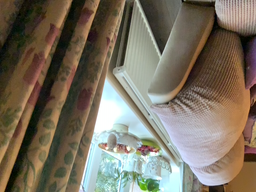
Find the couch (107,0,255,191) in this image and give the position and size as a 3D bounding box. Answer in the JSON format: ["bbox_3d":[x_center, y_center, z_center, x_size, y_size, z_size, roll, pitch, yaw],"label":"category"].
[{"bbox_3d":[0.810,-0.050,1.460,0.960,1.030,1.810,-8,146,26],"label":"couch"}]
